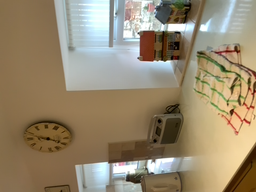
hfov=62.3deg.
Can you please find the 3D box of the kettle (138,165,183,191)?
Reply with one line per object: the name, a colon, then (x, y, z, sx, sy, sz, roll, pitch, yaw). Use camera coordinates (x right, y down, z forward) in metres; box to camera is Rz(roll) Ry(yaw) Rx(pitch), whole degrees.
kettle: (0.210, 0.580, 1.420, 0.150, 0.250, 0.140, -103, 15, -48)
